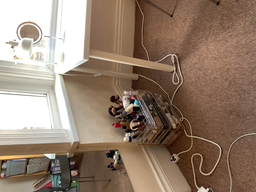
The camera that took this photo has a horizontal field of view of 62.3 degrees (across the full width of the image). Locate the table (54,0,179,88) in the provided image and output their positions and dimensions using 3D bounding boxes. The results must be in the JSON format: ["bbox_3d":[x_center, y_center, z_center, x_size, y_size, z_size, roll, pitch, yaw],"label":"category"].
[{"bbox_3d":[-0.090,-0.640,1.680,0.610,0.740,1.030,-4,81,58],"label":"table"}]
